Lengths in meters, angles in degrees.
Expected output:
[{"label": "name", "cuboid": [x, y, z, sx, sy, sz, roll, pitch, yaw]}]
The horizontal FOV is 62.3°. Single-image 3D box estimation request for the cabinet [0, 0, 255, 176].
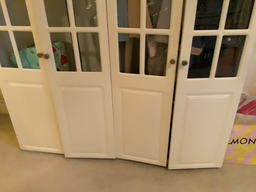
[{"label": "cabinet", "cuboid": [-0.070, -0.590, 1.250, 1.560, 2.190, 0.530, 4, 30, 8]}]
